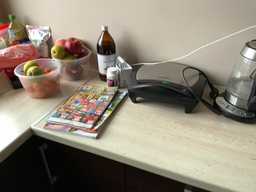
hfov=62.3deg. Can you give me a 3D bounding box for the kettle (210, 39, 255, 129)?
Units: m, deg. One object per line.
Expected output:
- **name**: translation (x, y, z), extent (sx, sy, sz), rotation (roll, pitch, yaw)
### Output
- **kettle**: translation (0.400, -0.050, 0.790), extent (0.110, 0.260, 0.200), rotation (13, 34, 20)
